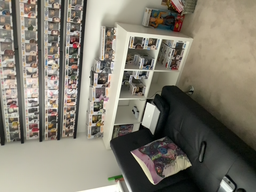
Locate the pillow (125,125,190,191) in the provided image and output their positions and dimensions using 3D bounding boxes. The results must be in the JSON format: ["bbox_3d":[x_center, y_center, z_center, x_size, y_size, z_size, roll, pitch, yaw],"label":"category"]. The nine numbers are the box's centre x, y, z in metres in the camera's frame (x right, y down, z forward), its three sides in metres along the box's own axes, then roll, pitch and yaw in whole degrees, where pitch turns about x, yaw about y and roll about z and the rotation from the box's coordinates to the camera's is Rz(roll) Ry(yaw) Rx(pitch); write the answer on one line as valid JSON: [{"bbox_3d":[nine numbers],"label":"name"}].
[{"bbox_3d":[0.250,0.530,1.910,0.460,0.390,0.160,49,159,54],"label":"pillow"}]

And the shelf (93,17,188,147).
[{"bbox_3d":[0.070,-0.110,2.580,0.420,0.760,1.460,-124,39,-51],"label":"shelf"}]
